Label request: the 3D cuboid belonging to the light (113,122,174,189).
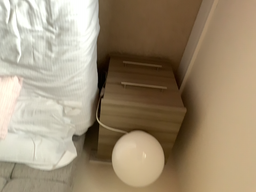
[{"bbox_3d":[0.060,0.290,1.030,0.240,0.180,0.260,4,127,-3],"label":"light"}]
